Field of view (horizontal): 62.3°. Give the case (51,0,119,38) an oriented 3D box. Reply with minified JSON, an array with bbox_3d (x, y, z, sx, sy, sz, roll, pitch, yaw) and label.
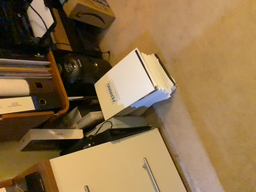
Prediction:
[{"bbox_3d":[-0.270,-0.560,1.300,0.170,0.320,0.300,-36,71,33],"label":"case"}]
